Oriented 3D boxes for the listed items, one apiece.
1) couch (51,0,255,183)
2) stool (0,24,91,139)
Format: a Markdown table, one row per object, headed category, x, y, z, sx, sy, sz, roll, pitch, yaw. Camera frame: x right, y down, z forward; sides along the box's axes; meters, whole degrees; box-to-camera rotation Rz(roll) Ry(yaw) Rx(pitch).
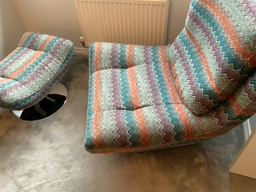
| category | x | y | z | sx | sy | sz | roll | pitch | yaw |
| --- | --- | --- | --- | --- | --- | --- | --- | --- | --- |
| couch | 0.190 | -0.130 | 1.210 | 0.870 | 0.840 | 0.850 | -5 | 48 | -2 |
| stool | -0.690 | -0.140 | 1.570 | 0.480 | 0.410 | 0.670 | 17 | 51 | 17 |
